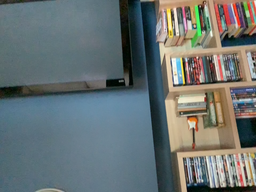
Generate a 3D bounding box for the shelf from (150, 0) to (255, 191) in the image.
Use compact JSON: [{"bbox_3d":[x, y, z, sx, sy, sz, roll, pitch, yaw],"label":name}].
[{"bbox_3d":[0.710,-0.240,1.580,0.950,1.830,0.340,-4,166,2],"label":"shelf"}]
